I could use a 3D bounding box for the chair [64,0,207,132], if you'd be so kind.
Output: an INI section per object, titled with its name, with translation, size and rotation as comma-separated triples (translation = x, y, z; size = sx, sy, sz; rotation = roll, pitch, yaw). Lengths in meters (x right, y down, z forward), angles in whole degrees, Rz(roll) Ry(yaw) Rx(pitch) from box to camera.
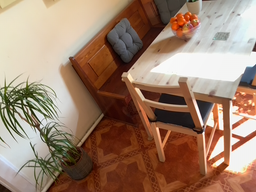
[chair]
translation = 0.280, -0.620, 2.490
size = 0.650, 0.780, 1.890
rotation = 11, 50, 34

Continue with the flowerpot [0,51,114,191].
[flowerpot]
translation = -0.590, 0.280, 1.560
size = 0.460, 1.110, 0.440
rotation = 13, 51, 35

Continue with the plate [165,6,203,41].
[plate]
translation = 0.440, -0.570, 1.660
size = 0.190, 0.160, 0.220
rotation = 18, 54, 39
